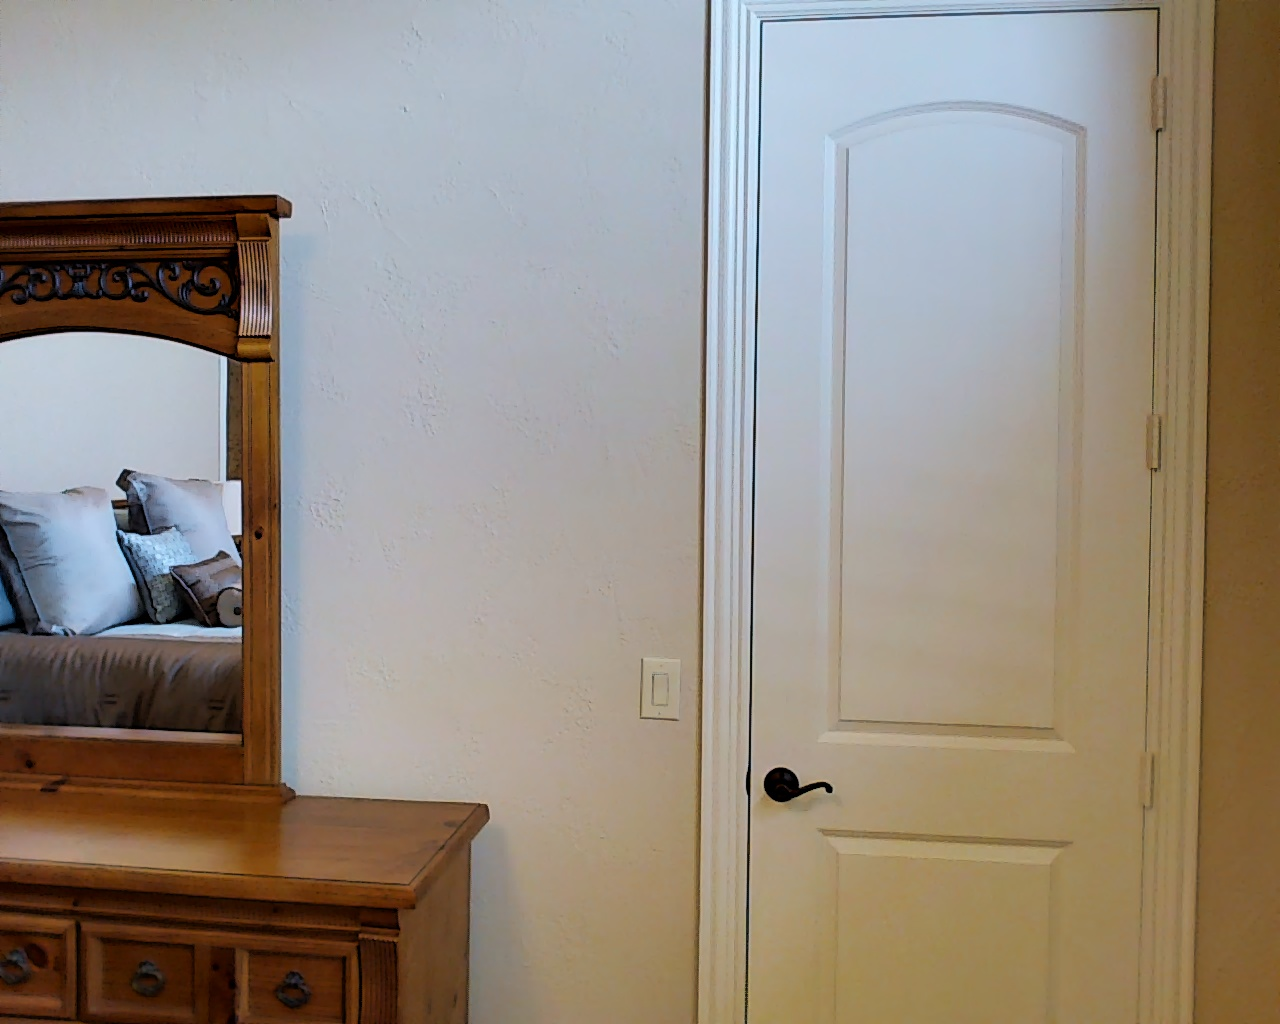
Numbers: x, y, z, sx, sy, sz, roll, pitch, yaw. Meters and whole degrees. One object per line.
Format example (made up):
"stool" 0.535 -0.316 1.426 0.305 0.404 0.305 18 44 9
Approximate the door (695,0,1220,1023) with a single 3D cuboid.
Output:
"door" 0.600 0.240 2.120 0.950 2.521 0.060 1 0 7
